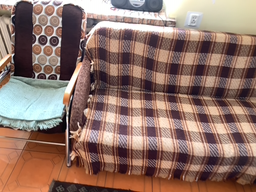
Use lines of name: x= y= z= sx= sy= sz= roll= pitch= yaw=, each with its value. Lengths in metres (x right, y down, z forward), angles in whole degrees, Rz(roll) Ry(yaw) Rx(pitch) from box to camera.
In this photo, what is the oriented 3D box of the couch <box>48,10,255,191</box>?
couch: x=0.650 y=0.040 z=1.630 sx=2.060 sy=0.840 sz=1.000 roll=5 pitch=41 yaw=-1
